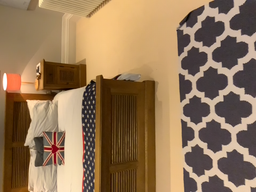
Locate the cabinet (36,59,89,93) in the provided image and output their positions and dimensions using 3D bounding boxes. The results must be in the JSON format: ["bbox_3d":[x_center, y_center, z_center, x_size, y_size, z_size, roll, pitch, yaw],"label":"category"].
[{"bbox_3d":[-1.080,-0.300,3.500,0.500,0.720,0.440,-4,85,56],"label":"cabinet"}]

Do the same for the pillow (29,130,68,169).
[{"bbox_3d":[-1.130,0.760,3.050,0.320,0.450,0.470,-35,-55,-88],"label":"pillow"}]
